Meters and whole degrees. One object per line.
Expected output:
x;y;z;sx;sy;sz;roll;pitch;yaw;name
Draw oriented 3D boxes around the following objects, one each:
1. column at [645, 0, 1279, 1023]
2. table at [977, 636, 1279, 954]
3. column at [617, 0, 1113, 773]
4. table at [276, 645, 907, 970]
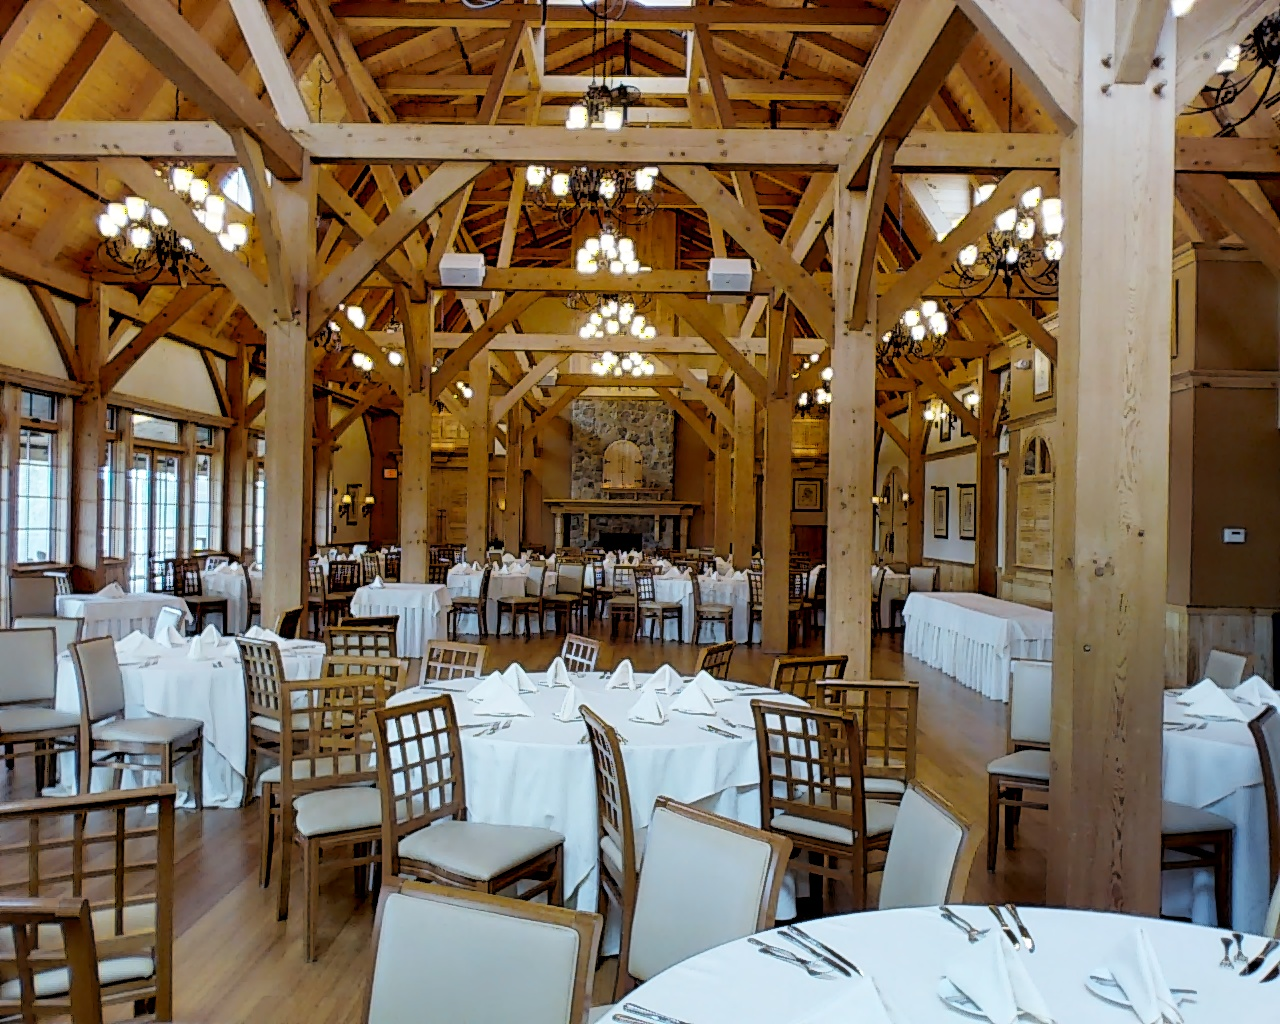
1.630;-0.700;3.650;1.790;4.549;2.640;1;0;-45;column
2.920;1.160;4.710;2.060;0.890;2.000;1;0;-45;table
1.620;-0.780;8.120;1.980;4.639;2.990;1;0;-45;column
-0.160;1.140;4.720;2.140;0.790;2.130;1;0;0;table
